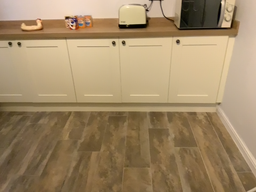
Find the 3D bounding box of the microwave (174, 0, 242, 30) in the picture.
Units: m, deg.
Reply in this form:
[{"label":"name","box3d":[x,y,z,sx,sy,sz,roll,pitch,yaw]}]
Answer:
[{"label":"microwave","box3d":[0.700,-0.770,1.950,0.500,0.250,0.300,1,29,4]}]

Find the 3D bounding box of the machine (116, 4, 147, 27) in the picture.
[{"label":"machine","box3d":[0.040,-0.780,2.050,0.280,0.170,0.210,0,29,3]}]

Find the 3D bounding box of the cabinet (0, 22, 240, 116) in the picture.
[{"label":"cabinet","box3d":[-0.310,-0.280,2.280,2.600,0.900,0.340,1,29,4]}]
